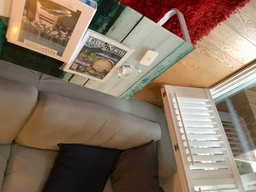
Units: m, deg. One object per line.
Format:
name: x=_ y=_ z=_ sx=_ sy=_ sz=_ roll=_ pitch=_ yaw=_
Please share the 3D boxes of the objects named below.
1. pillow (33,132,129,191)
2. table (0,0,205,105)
pillow: x=-0.370 y=0.680 z=1.810 sx=0.620 sy=0.510 sz=0.130 roll=-33 pitch=165 yaw=-47
table: x=-0.260 y=-0.350 z=1.000 sx=1.080 sy=0.330 sz=0.600 roll=17 pitch=143 yaw=-33
